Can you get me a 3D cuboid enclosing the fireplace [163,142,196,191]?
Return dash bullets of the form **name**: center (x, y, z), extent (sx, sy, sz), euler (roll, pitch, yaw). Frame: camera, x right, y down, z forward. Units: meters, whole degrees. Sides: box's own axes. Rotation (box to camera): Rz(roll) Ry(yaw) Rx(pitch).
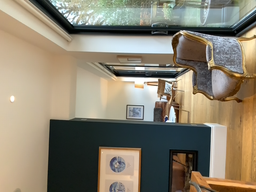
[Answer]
- **fireplace**: center (0.800, 1.240, 3.390), extent (0.390, 0.420, 0.910), euler (-11, -77, -86)
